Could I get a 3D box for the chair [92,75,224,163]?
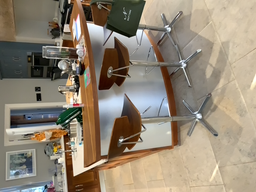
[{"bbox_3d":[0.250,0.170,2.000,0.500,1.010,0.550,-125,41,-50],"label":"chair"}]
